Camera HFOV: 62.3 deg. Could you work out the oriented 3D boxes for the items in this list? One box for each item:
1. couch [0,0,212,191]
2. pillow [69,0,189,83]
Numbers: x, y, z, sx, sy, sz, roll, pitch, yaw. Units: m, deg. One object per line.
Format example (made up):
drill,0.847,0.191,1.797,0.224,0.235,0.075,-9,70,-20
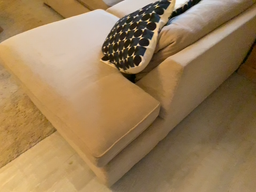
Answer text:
couch,-0.200,-0.100,1.320,0.780,0.470,1.010,-35,60,-31
pillow,0.020,-0.350,1.100,0.460,0.220,0.410,20,49,11
